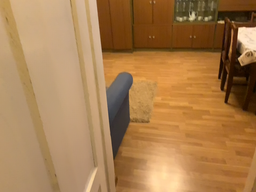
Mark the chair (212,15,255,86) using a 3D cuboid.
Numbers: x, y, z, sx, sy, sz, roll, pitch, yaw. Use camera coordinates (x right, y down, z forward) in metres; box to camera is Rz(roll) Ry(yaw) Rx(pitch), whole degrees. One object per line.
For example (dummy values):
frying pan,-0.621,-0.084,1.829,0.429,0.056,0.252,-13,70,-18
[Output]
chair,1.580,-0.670,3.090,0.490,0.920,0.420,4,28,13
